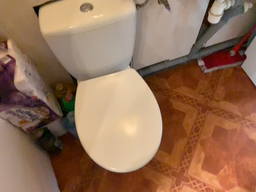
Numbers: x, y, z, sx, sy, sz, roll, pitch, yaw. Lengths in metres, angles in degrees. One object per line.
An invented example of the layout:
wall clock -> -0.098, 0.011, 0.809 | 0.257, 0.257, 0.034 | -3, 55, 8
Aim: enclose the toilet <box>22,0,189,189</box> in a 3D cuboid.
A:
toilet -> -0.100, 0.030, 0.980 | 0.370, 0.750, 0.610 | -16, 64, -6
